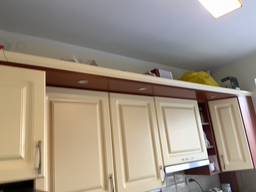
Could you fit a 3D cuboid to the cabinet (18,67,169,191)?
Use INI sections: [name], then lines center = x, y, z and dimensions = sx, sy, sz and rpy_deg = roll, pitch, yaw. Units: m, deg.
[cabinet]
center = -0.220, 0.290, 1.520
dimensions = 0.950, 0.780, 0.350
rpy_deg = 5, -18, -36
